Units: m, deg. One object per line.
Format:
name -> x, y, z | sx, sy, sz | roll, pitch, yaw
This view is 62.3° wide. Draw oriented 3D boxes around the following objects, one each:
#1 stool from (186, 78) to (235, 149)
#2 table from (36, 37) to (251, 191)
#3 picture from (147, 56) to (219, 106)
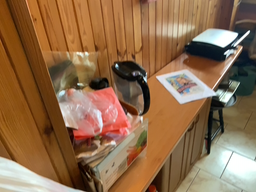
stool -> 0.680, 0.140, 1.770 | 0.210, 0.450, 0.320 | 24, 44, 34
table -> 0.270, 0.250, 1.380 | 0.400, 0.770, 1.420 | 24, 44, 34
picture -> 0.300, -0.100, 1.220 | 0.260, 0.030, 0.320 | -29, 40, -9
